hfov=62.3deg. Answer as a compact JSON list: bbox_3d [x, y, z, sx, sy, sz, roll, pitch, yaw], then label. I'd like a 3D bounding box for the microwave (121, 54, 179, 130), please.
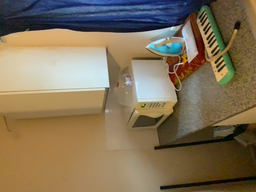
[{"bbox_3d":[0.130,-0.010,1.610,0.480,0.260,0.410,115,150,-65],"label":"microwave"}]

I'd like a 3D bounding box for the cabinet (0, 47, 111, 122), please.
[{"bbox_3d":[-0.530,-0.050,1.490,0.590,0.740,0.290,117,148,-67],"label":"cabinet"}]
